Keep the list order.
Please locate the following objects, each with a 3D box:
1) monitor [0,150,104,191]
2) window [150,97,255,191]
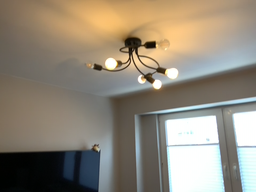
[{"bbox_3d":[-0.730,0.940,2.210,0.050,0.710,1.300,-14,-18,36],"label":"monitor"},{"bbox_3d":[1.000,0.820,2.440,1.650,1.460,0.130,-12,-17,40],"label":"window"}]
